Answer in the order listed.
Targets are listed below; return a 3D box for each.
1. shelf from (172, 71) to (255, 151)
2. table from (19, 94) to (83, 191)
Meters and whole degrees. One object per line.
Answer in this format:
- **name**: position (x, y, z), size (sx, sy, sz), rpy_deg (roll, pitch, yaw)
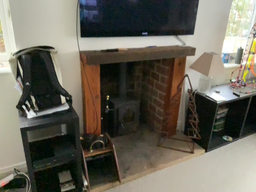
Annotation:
- **shelf**: position (1.650, 0.090, 3.050), size (2.110, 0.680, 0.480), rpy_deg (-10, 26, -27)
- **table**: position (-0.680, 0.450, 1.890), size (0.400, 0.760, 0.490), rpy_deg (-9, 25, -25)
